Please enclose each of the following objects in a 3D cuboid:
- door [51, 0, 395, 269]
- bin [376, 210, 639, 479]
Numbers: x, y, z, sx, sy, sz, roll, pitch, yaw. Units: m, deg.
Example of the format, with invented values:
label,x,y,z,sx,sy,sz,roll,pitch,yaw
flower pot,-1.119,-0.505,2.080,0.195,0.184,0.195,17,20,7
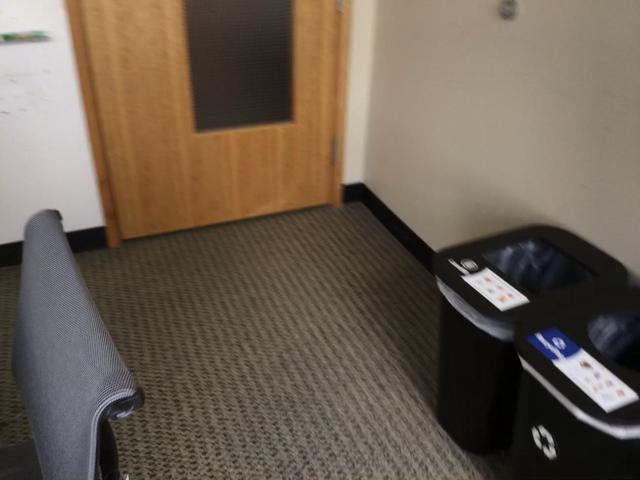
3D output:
label,x,y,z,sx,sy,sz,roll,pitch,yaw
door,-0.270,-1.040,1.890,1.160,2.380,0.180,-5,29,-23
bin,0.500,0.320,1.360,0.410,0.510,0.650,-9,31,-24
